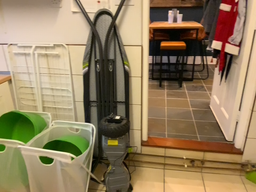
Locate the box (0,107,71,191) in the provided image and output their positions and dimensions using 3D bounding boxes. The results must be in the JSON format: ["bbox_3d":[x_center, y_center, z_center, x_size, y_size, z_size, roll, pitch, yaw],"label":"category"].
[{"bbox_3d":[-0.830,0.470,1.770,0.480,0.570,0.540,1,23,5],"label":"box"}]

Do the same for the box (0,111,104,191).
[{"bbox_3d":[-0.510,0.530,1.630,0.490,0.590,0.640,1,23,6],"label":"box"}]

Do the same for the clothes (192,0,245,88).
[{"bbox_3d":[0.790,-0.810,1.860,0.240,1.360,0.560,2,23,7],"label":"clothes"}]
